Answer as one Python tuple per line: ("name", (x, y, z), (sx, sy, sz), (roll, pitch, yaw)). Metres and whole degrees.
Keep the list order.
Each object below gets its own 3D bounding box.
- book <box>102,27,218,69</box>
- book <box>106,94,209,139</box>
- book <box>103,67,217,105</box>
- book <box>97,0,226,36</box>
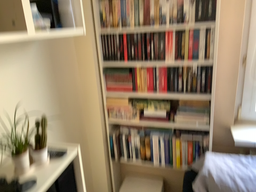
("book", (0.210, -0.330, 1.480), (0.740, 0.240, 0.200), (2, 19, 18))
("book", (0.220, 0.140, 1.650), (0.750, 0.240, 0.180), (3, 19, 19))
("book", (0.220, -0.090, 1.560), (0.780, 0.210, 0.180), (3, 19, 19))
("book", (0.200, -0.530, 1.410), (0.800, 0.210, 0.160), (3, 19, 19))
